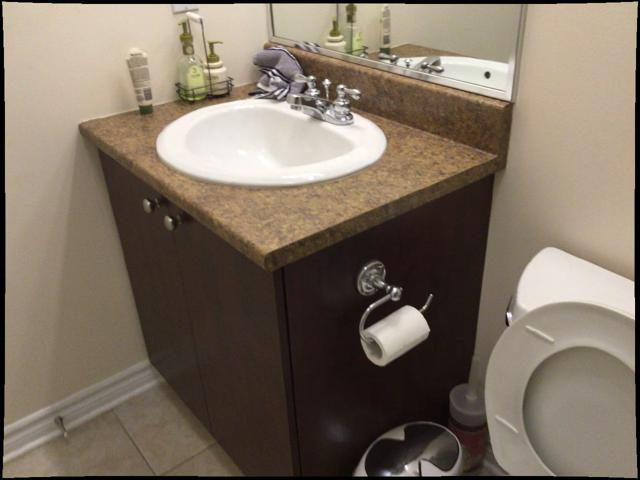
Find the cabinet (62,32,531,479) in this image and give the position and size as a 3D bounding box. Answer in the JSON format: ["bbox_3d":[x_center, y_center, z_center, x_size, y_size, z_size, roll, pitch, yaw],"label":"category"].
[{"bbox_3d":[-0.080,0.080,1.420,0.570,0.931,0.830,-25,38,-32],"label":"cabinet"}]
